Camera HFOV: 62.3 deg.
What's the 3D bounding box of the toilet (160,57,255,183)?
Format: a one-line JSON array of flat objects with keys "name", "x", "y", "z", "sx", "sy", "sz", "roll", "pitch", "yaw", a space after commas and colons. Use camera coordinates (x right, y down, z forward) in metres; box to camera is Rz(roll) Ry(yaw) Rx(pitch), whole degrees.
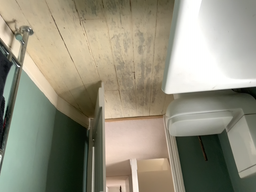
[{"name": "toilet", "x": 0.600, "y": 0.180, "z": 1.590, "sx": 0.590, "sy": 0.790, "sz": 0.410, "roll": -6, "pitch": 151, "yaw": 2}]
